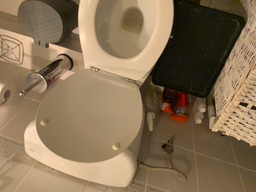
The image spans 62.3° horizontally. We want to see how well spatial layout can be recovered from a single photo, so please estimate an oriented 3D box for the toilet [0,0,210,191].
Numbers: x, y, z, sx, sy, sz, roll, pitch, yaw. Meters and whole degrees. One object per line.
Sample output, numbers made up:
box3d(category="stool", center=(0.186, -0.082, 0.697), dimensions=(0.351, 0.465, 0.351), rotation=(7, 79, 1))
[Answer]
box3d(category="toilet", center=(-0.060, -0.160, 0.880), dimensions=(0.420, 0.800, 0.650), rotation=(17, 123, 2))
